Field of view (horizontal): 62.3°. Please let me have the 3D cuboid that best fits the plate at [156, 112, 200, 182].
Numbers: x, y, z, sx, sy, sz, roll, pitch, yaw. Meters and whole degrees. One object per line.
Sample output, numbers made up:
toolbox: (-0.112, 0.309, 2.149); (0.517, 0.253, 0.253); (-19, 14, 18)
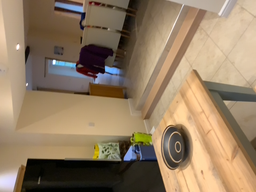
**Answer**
plate: (0.350, 0.380, 1.600); (0.400, 0.070, 0.330); (-102, 25, -43)
